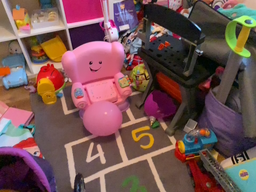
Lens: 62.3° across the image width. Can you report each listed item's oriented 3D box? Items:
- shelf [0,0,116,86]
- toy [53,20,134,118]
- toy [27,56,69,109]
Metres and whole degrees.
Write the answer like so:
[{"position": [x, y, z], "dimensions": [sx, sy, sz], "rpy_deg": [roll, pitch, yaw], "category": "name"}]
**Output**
[{"position": [-0.870, -0.670, 1.490], "dimensions": [1.480, 1.090, 0.430], "rpy_deg": [-17, 48, -16], "category": "shelf"}, {"position": [-0.240, -0.200, 1.530], "dimensions": [0.420, 0.450, 0.440], "rpy_deg": [-15, 48, -15], "category": "toy"}, {"position": [-0.610, -0.110, 1.610], "dimensions": [0.240, 0.180, 0.340], "rpy_deg": [-14, 48, -14], "category": "toy"}]
